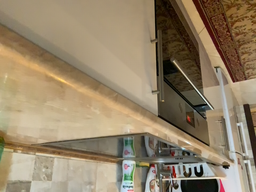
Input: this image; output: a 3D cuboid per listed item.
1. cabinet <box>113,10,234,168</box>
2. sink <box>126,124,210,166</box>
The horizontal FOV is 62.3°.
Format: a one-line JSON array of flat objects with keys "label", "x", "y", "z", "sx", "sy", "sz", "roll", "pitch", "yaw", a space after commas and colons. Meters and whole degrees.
[{"label": "cabinet", "x": 0.370, "y": 0.050, "z": 1.650, "sx": 0.600, "sy": 0.910, "sz": 0.790, "roll": -12, "pitch": 155, "yaw": 29}, {"label": "sink", "x": 0.270, "y": 0.340, "z": 1.370, "sx": 0.390, "sy": 0.180, "sz": 0.440, "roll": -12, "pitch": 155, "yaw": 29}]
